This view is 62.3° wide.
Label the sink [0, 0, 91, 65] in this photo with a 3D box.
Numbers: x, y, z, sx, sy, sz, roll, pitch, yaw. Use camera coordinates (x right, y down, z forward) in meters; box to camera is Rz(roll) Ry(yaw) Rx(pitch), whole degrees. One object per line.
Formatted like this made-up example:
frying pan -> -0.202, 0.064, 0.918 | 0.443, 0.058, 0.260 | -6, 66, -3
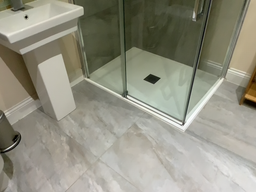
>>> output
sink -> -0.600, -0.470, 1.400 | 0.420, 0.180, 0.540 | 28, 49, 29
